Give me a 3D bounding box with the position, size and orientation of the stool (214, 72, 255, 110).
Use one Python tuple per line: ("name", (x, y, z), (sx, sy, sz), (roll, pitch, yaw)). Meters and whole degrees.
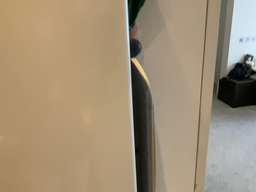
("stool", (1.960, -0.110, 3.790), (0.540, 0.480, 0.540), (-7, 21, -10))
